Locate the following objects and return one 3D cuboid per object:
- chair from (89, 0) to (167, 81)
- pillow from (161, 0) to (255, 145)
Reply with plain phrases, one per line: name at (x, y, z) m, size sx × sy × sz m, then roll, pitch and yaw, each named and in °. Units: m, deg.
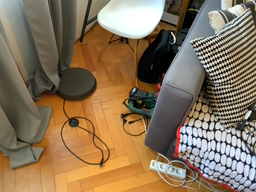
chair at (0.010, -0.650, 1.760) m, size 0.430 × 0.800 × 0.530 m, roll 24°, pitch 51°, yaw 12°
pillow at (0.700, -0.320, 1.370) m, size 0.500 × 0.400 × 1.090 m, roll 27°, pitch 52°, yaw 14°
